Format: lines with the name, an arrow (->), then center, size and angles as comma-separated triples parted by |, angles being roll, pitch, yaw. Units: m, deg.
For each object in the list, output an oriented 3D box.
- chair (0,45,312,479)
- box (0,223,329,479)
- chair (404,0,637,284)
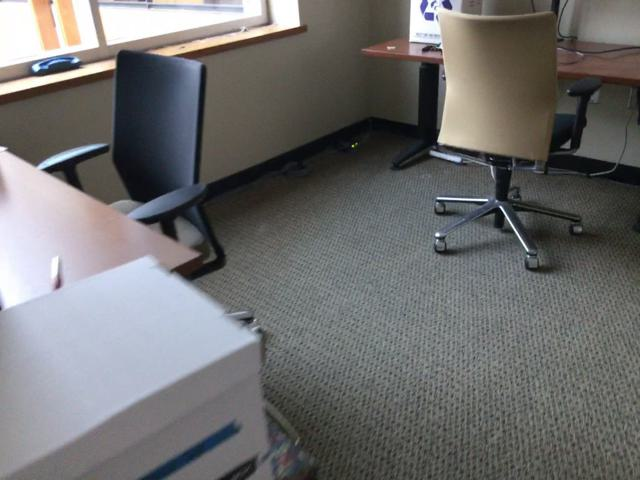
chair -> -0.620, 0.010, 1.760 | 0.770, 1.020, 0.730 | 15, 34, 40
box -> -0.310, 0.240, 0.840 | 0.410, 0.310, 0.460 | 15, 34, 40
chair -> 0.810, -0.460, 2.370 | 0.660, 1.010, 0.550 | 15, 34, 40
